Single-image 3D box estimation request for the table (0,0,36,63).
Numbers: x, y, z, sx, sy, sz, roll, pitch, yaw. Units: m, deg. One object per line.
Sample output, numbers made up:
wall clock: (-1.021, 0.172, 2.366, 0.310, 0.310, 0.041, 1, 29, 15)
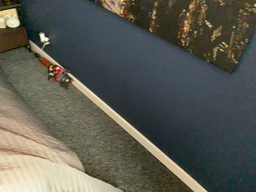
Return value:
table: (-1.370, -0.690, 2.190, 0.570, 0.540, 0.380, -29, 53, -34)
